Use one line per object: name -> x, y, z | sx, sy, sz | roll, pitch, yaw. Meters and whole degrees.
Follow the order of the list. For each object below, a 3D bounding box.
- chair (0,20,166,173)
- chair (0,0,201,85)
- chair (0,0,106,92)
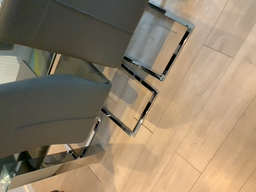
chair -> -0.350, -0.030, 1.230 | 0.600, 1.030, 0.420 | 41, 112, 32
chair -> -0.160, -0.420, 1.090 | 0.600, 1.030, 0.400 | 41, 112, 32
chair -> -0.780, -0.390, 1.590 | 0.600, 1.000, 0.420 | 40, 112, 32
